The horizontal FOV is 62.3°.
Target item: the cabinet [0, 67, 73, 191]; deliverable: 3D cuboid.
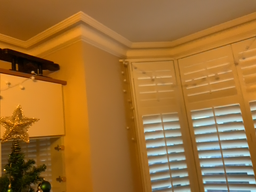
[{"bbox_3d":[-0.880,0.280,1.370,0.290,0.890,1.050,-13,-13,31],"label":"cabinet"}]
